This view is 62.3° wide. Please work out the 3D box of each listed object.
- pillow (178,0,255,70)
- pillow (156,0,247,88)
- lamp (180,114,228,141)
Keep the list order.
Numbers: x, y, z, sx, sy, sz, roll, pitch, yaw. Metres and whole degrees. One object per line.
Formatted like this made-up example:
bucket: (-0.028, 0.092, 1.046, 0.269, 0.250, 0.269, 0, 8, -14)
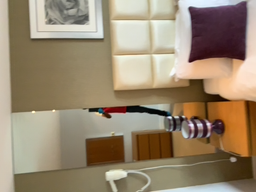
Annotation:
pillow: (0.640, -0.460, 1.540, 0.200, 0.370, 0.400, 180, 112, -78)
pillow: (0.580, -0.480, 1.700, 0.220, 0.450, 0.710, 177, 114, -78)
lamp: (0.640, 0.260, 1.810, 0.220, 0.300, 0.180, 170, 98, -80)
